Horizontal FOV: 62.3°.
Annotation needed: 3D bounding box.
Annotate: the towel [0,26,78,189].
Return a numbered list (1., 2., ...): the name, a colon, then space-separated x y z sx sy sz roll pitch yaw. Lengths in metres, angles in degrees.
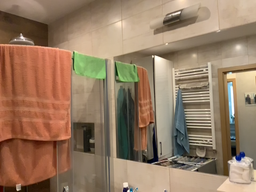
1. towel: -0.660 0.060 1.260 0.670 0.850 0.300 -1 -3 -17
